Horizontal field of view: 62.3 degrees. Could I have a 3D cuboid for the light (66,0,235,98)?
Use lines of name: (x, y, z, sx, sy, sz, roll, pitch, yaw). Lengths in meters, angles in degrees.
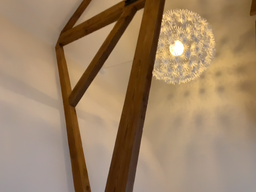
light: (0.250, -0.640, 3.160, 1.100, 2.110, 0.900, -22, -79, -48)
